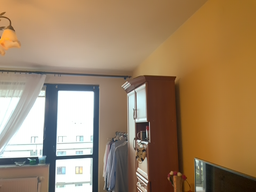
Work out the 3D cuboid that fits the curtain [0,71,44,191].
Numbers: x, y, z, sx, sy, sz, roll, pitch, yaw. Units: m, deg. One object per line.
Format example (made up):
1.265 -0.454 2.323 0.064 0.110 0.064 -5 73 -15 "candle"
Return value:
-2.270 0.630 3.320 1.680 2.050 0.190 1 -7 -15 "curtain"
